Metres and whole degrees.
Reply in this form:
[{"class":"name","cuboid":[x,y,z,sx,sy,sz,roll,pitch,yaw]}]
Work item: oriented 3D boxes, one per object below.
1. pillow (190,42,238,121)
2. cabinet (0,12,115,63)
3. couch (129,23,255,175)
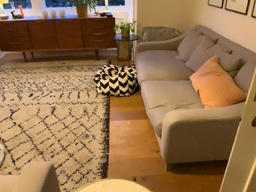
[{"class":"pillow","cuboid":[0.740,-0.120,1.910,0.190,0.370,0.610,0,65,-1]},{"class":"cabinet","cuboid":[-1.330,-1.160,4.100,2.120,0.760,0.740,-2,29,-3]},{"class":"couch","cuboid":[0.620,-0.240,2.440,1.090,0.750,2.140,-2,29,-2]}]
